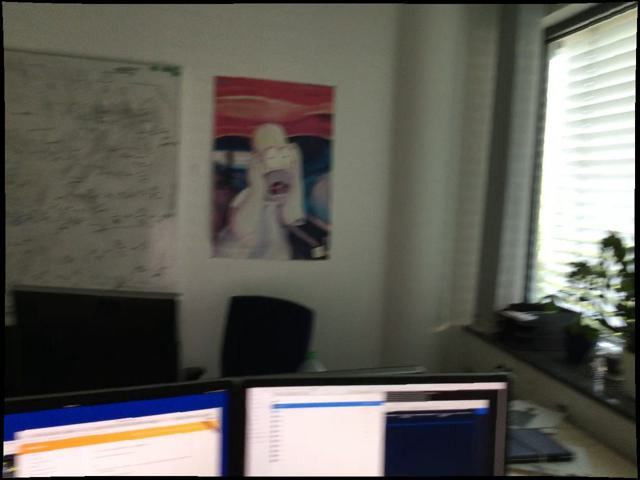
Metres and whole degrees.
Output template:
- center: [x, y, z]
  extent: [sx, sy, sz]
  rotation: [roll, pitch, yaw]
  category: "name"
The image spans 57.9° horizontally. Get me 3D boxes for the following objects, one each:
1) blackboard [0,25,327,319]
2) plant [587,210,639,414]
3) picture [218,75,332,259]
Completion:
- center: [-1.429, -0.300, 2.730]
  extent: [2.887, 1.331, 0.190]
  rotation: [1, 7, -9]
  category: "blackboard"
- center: [1.159, 0.240, 2.010]
  extent: [0.200, 0.661, 0.360]
  rotation: [1, 7, -9]
  category: "plant"
- center: [-0.230, -0.350, 2.900]
  extent: [0.539, 0.881, 0.110]
  rotation: [1, 7, -9]
  category: "picture"
